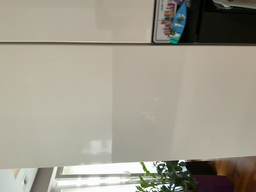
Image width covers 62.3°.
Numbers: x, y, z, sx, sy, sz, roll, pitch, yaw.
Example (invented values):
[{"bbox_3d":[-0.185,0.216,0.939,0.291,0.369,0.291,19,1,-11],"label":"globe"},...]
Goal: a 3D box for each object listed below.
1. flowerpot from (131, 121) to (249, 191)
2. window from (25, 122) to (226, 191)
[{"bbox_3d":[0.700,0.940,2.860,0.910,1.180,0.840,-109,19,-69],"label":"flowerpot"},{"bbox_3d":[-0.090,1.030,3.460,2.190,2.610,0.110,-107,18,-67],"label":"window"}]
